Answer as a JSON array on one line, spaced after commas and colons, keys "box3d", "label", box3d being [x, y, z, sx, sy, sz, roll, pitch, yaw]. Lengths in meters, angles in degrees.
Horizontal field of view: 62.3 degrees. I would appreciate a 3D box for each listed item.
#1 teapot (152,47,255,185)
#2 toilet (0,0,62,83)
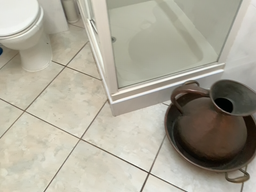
[{"box3d": [0.440, 0.100, 1.100, 0.470, 0.390, 0.480, -15, 55, -8], "label": "teapot"}, {"box3d": [-0.750, -0.460, 1.530, 0.340, 0.440, 0.500, -17, 56, -10], "label": "toilet"}]
